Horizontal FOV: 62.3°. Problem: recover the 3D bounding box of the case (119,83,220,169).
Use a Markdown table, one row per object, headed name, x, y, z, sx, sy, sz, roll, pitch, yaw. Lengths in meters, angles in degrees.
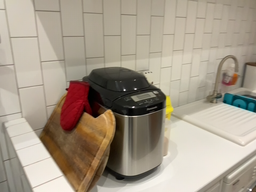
| name | x | y | z | sx | sy | sz | roll | pitch | yaw |
| --- | --- | --- | --- | --- | --- | --- | --- | --- | --- |
| case | 0.200 | 0.120 | 1.130 | 0.350 | 0.250 | 0.370 | -13 | 23 | -35 |
